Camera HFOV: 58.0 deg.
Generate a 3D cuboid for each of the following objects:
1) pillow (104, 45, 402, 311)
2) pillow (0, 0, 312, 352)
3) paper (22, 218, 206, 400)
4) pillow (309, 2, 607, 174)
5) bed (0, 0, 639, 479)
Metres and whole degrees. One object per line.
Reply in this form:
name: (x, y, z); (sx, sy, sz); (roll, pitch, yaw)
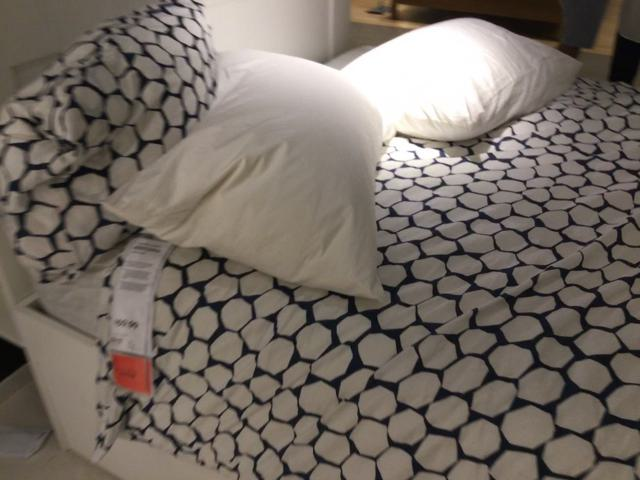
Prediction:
pillow: (-0.060, -0.170, 1.110); (0.410, 0.260, 0.620); (2, 31, 6)
pillow: (-0.340, -0.230, 1.220); (0.320, 0.510, 0.740); (15, 34, 24)
paper: (-0.370, 0.120, 1.070); (0.240, 0.230, 0.160); (15, 34, 24)
pillow: (0.380, -0.450, 1.540); (0.460, 0.220, 0.700); (24, 39, 35)
bed: (0.500, -0.050, 1.370); (2.390, 1.180, 1.750); (15, 34, 24)
